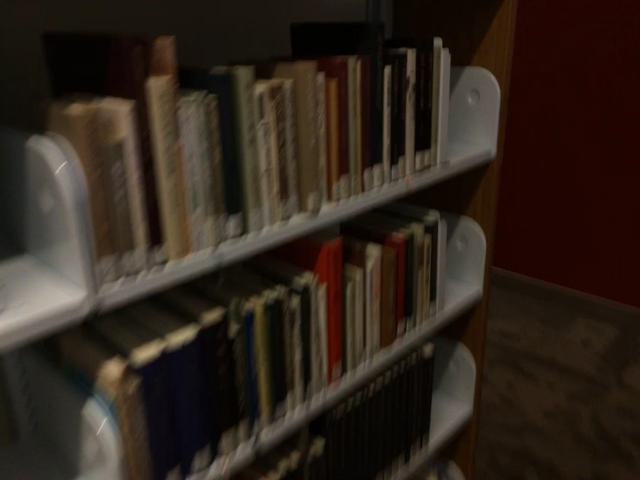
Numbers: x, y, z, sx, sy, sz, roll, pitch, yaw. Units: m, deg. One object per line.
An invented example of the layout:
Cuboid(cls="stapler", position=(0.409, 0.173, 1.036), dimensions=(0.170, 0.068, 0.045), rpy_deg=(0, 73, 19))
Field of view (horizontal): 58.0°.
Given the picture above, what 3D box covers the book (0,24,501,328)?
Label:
Cuboid(cls="book", position=(-0.030, -0.190, 0.950), dimensions=(0.220, 0.300, 0.900), rpy_deg=(18, 27, 40))
